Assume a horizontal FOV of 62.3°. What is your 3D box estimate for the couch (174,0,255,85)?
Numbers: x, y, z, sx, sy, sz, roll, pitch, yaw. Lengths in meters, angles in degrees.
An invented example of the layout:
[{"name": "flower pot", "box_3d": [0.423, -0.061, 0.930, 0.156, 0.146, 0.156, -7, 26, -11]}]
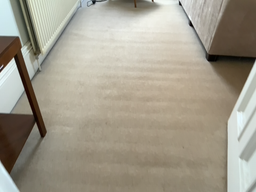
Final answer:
[{"name": "couch", "box_3d": [1.310, -1.160, 2.600, 1.080, 0.810, 2.350, 4, 40, 0]}]
